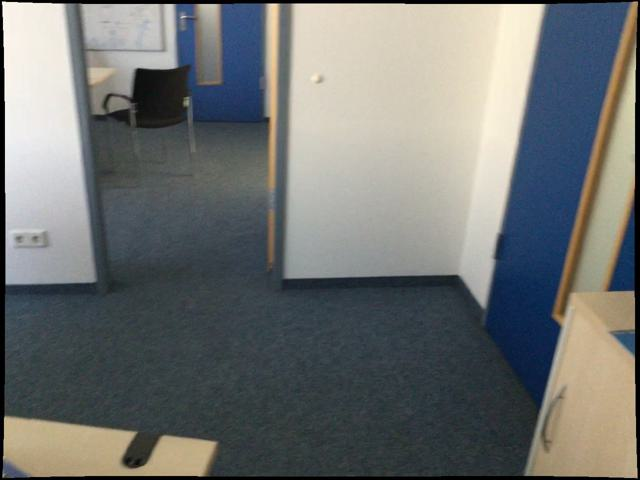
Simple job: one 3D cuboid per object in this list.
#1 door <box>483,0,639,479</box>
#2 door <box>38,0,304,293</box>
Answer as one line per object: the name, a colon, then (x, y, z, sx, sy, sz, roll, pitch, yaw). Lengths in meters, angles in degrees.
door: (0.899, -0.300, 1.800, 0.170, 2.002, 0.970, -4, 26, -8)
door: (-0.599, -0.771, 2.540, 1.029, 2.092, 0.290, -2, 26, -7)
